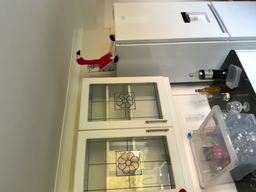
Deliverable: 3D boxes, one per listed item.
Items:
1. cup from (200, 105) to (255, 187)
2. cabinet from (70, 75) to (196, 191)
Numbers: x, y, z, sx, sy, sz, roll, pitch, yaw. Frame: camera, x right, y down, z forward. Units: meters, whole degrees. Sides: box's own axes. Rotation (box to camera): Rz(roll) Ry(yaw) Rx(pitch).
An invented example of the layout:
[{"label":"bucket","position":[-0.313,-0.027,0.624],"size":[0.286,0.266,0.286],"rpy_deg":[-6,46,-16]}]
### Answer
[{"label":"cup","position":[0.750,0.380,1.590],"size":[0.400,0.170,0.480],"rpy_deg":[95,172,-55]},{"label":"cabinet","position":[0.000,0.310,1.710],"size":[0.310,0.790,0.990],"rpy_deg":[95,172,-55]}]
